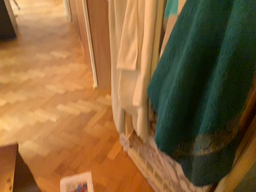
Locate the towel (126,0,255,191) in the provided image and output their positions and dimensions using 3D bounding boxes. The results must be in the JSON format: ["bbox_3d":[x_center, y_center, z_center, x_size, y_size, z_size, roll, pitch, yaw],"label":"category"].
[{"bbox_3d":[0.170,-0.030,0.600,0.150,0.890,0.350,-32,50,-32],"label":"towel"}]
